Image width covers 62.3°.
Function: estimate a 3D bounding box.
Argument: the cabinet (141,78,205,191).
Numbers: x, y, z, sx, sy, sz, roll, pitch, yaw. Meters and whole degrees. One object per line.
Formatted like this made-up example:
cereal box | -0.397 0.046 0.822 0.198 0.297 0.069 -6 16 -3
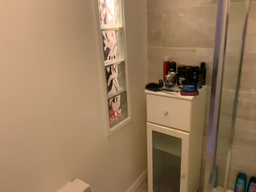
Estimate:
cabinet | 0.390 0.430 1.830 0.380 1.090 0.350 9 24 33
